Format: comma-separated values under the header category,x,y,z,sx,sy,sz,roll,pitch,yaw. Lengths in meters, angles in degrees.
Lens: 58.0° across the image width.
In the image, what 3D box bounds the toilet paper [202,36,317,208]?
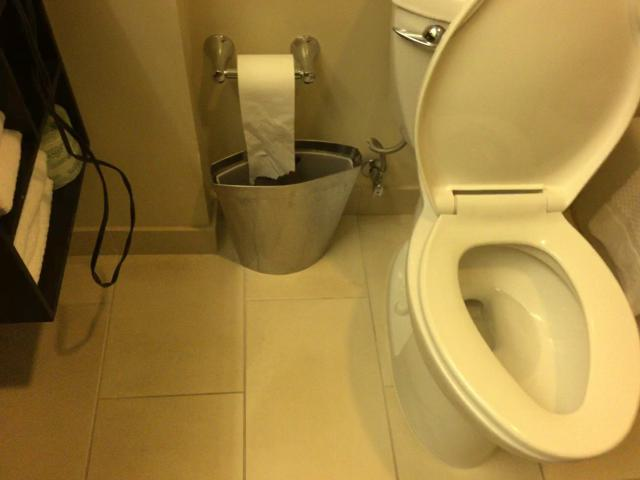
category,x,y,z,sx,sy,sz,roll,pitch,yaw
toilet paper,-0.120,-0.230,1.180,0.200,0.320,0.150,-2,52,-5

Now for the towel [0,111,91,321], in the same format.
category,x,y,z,sx,sy,sz,roll,pitch,yaw
towel,-0.440,-0.040,0.890,0.080,0.180,0.270,-1,52,-5
